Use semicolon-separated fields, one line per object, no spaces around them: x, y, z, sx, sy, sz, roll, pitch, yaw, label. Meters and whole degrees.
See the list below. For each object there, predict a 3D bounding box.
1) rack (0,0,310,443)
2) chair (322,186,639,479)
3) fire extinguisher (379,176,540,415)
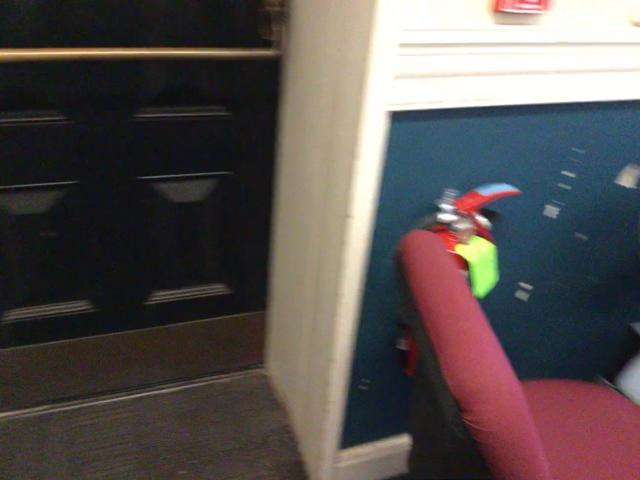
-0.450;-0.180;1.280;0.800;1.460;0.160;-6;32;-17;rack
0.370;0.440;0.990;0.620;0.900;0.560;0;31;-9;chair
0.260;0.120;1.160;0.190;0.470;0.130;-6;32;-17;fire extinguisher
